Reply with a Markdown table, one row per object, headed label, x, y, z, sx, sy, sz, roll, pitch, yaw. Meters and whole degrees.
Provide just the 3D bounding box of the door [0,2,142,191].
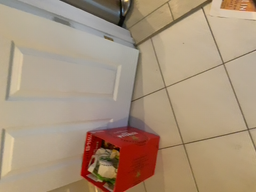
| label | x | y | z | sx | sy | sz | roll | pitch | yaw |
| --- | --- | --- | --- | --- | --- | --- | --- | --- | --- |
| door | -0.570 | 0.050 | 0.590 | 0.040 | 1.960 | 0.720 | 11 | 95 | 37 |
